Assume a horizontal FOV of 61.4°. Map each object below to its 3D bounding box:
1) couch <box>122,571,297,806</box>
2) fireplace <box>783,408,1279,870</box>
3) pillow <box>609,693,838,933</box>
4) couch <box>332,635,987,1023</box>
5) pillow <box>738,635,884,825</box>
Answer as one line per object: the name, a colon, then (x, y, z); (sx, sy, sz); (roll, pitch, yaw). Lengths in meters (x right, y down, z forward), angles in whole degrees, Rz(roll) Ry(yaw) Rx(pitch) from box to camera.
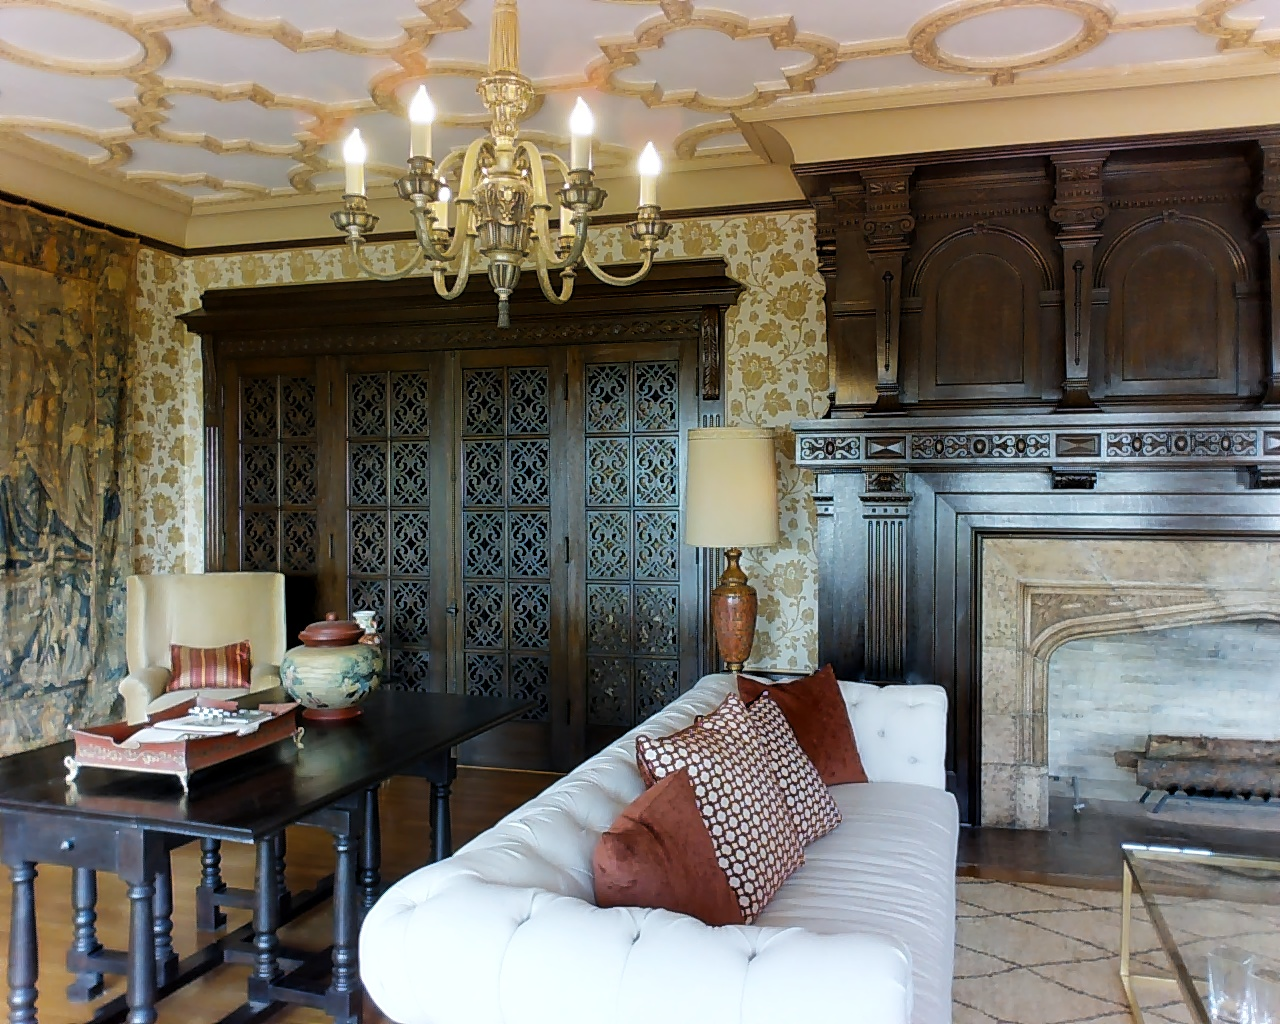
couch: (-2.360, 0.930, 5.990); (0.850, 1.140, 0.740); (0, 1, -18)
fireplace: (2.910, 0.530, 4.800); (4.439, 1.930, 0.710); (0, 1, 17)
pillow: (0.250, 0.770, 2.910); (0.480, 0.430, 0.640); (0, 1, 18)
couch: (0.380, 1.020, 3.080); (1.100, 0.970, 2.780); (0, 1, 17)
pillow: (0.630, 0.790, 3.890); (0.510, 0.510, 0.170); (28, -36, -26)
